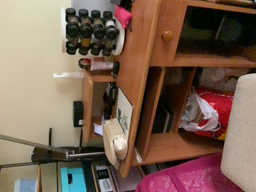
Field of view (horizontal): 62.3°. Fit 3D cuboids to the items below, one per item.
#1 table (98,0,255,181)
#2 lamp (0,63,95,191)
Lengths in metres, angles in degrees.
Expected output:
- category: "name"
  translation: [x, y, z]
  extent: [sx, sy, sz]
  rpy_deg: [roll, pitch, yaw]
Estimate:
- category: "table"
  translation: [0.300, -0.080, 1.190]
  extent: [0.530, 0.780, 0.840]
  rpy_deg: [-120, 35, -55]
- category: "lamp"
  translation: [-0.610, 0.130, 1.020]
  extent: [0.520, 0.790, 0.400]
  rpy_deg: [-120, 35, -54]
